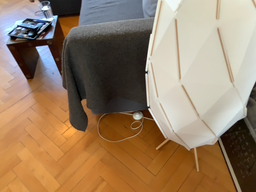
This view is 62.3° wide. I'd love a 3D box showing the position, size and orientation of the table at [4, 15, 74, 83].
[{"bbox_3d":[-0.720,-0.400,1.820,0.390,0.390,0.370,-6,49,-1],"label":"table"}]
